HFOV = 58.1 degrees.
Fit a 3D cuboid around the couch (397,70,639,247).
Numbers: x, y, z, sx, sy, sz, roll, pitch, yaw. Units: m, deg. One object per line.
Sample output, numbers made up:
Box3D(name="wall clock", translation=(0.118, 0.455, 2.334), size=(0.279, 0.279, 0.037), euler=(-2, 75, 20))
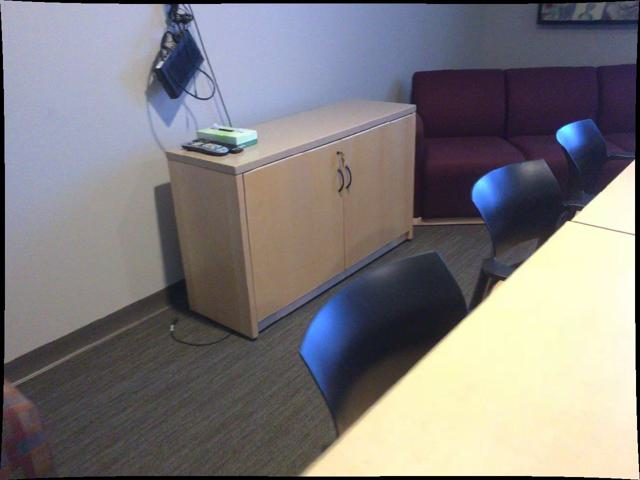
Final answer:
Box3D(name="couch", translation=(1.378, -0.491, 3.240), size=(1.837, 0.791, 0.770), euler=(1, 24, 6))
